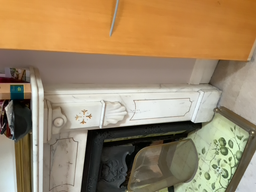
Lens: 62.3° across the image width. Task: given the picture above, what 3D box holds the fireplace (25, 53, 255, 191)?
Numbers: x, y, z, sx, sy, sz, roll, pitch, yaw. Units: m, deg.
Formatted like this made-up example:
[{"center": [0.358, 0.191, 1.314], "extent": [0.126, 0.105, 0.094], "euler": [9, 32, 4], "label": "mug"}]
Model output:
[{"center": [0.040, 0.650, 1.520], "extent": [0.720, 1.330, 1.680], "euler": [45, 131, 53], "label": "fireplace"}]
